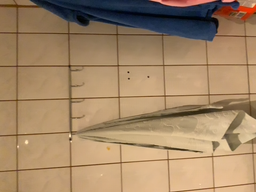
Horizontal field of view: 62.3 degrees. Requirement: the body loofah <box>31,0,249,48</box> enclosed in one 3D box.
[{"bbox_3d":[0.060,-0.320,0.890,0.220,0.820,0.170,171,97,-80],"label":"body loofah"}]
